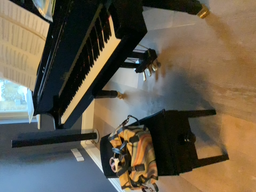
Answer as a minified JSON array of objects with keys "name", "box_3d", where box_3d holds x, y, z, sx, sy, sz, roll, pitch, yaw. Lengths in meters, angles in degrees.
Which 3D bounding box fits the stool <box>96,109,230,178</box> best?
[{"name":"stool","box_3d":[0.170,0.360,1.540,0.850,0.490,0.330,-31,63,56]}]
